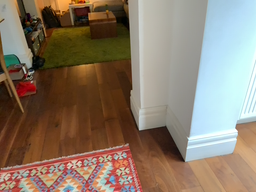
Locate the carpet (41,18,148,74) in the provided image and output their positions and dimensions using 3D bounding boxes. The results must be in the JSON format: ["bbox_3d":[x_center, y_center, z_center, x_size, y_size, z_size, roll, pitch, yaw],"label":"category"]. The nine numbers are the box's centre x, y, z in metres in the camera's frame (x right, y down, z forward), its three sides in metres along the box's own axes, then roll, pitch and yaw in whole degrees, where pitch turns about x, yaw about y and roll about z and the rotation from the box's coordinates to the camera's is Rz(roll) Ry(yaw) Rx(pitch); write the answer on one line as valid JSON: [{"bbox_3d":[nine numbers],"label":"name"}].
[{"bbox_3d":[-0.730,-1.160,4.230,1.530,0.120,2.770,-8,32,-9],"label":"carpet"}]
